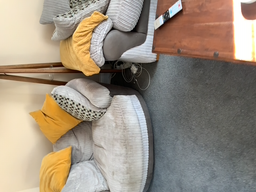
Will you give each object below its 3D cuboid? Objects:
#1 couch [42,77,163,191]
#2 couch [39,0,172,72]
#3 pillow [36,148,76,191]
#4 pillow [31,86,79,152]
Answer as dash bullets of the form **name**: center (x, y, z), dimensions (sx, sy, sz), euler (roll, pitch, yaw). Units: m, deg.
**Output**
- **couch**: center (-0.370, 0.500, 2.210), dimensions (1.230, 0.810, 1.360), euler (9, 99, 60)
- **couch**: center (-0.300, -0.790, 1.970), dimensions (1.130, 0.850, 0.960), euler (25, 112, 58)
- **pillow**: center (-0.820, 0.840, 2.370), dimensions (0.550, 0.300, 0.450), euler (-23, 72, 59)
- **pillow**: center (-0.820, 0.220, 2.330), dimensions (0.490, 0.380, 0.560), euler (24, 110, 58)
